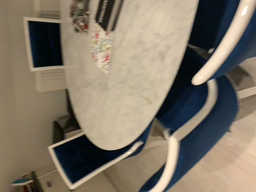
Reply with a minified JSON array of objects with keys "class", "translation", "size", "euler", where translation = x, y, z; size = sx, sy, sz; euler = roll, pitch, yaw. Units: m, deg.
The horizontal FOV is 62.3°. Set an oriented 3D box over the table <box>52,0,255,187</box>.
[{"class":"table","translation":[0.130,-0.540,1.360],"size":[1.160,0.740,1.670],"euler":[44,131,37]}]
